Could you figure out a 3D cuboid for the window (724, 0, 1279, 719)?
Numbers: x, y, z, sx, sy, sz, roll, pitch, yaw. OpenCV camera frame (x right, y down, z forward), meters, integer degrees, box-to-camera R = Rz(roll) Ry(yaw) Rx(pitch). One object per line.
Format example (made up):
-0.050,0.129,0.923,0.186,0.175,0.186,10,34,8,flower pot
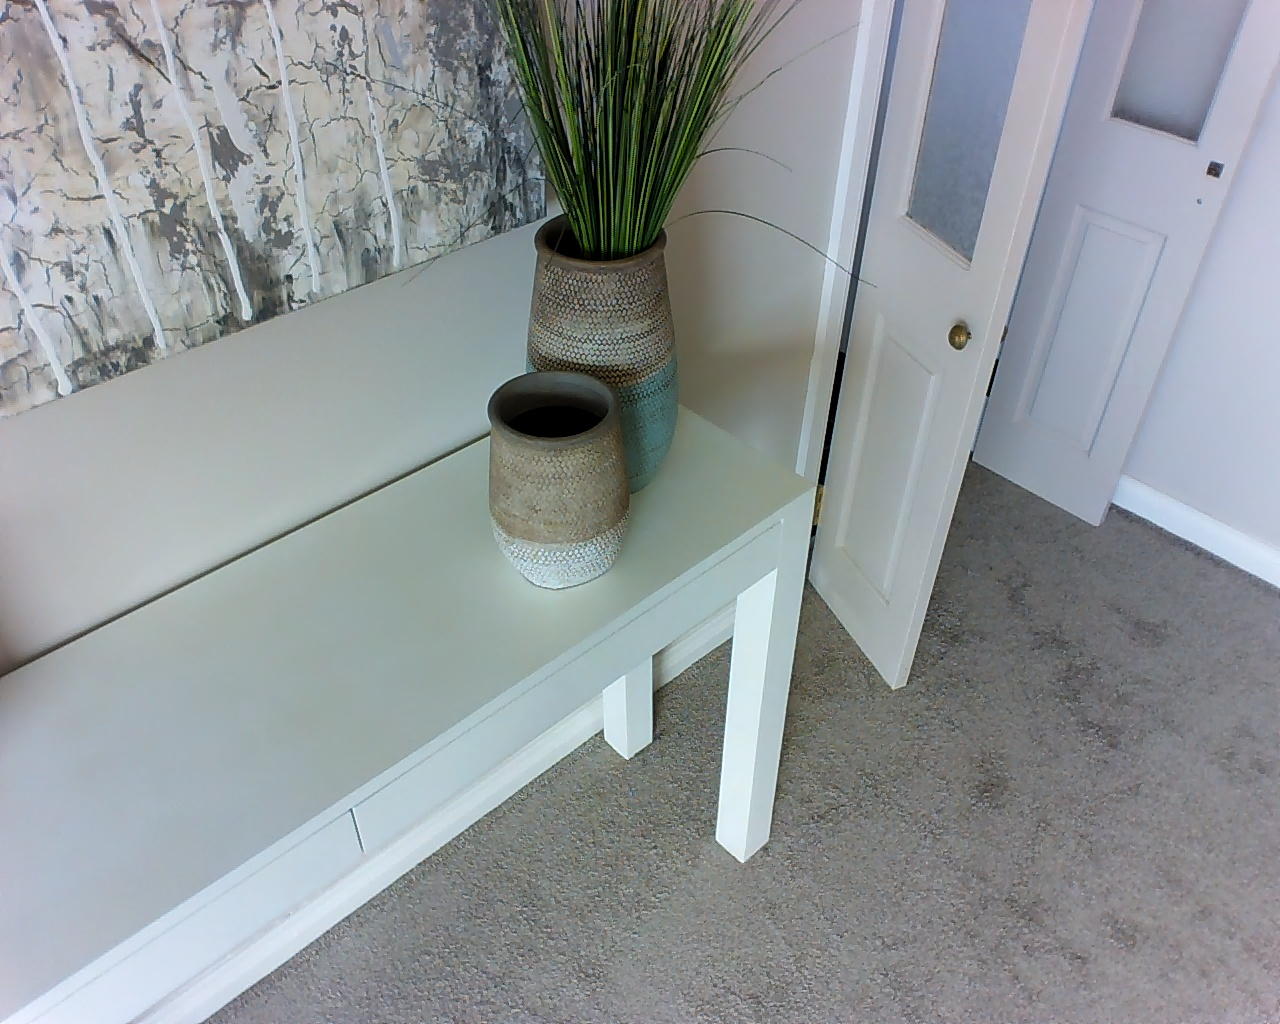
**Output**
0.670,-0.740,1.660,0.910,2.130,0.450,-30,49,-32,window
